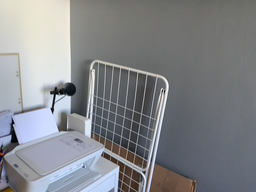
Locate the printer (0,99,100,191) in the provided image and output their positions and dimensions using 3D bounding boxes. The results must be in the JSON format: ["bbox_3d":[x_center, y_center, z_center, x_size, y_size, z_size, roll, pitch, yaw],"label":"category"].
[{"bbox_3d":[-0.460,0.250,1.160,0.430,0.300,0.420,15,19,34],"label":"printer"}]
